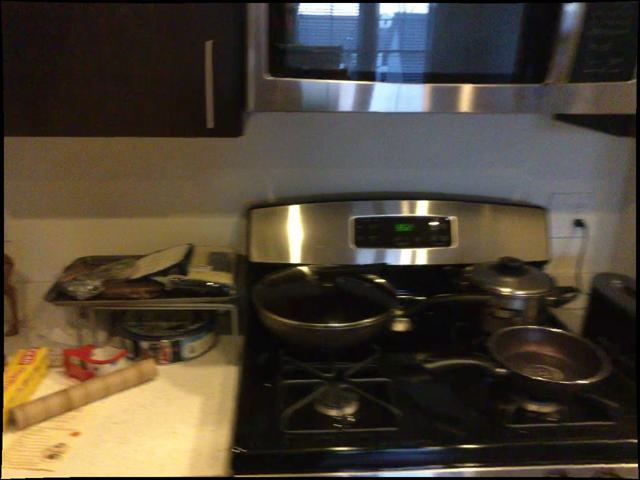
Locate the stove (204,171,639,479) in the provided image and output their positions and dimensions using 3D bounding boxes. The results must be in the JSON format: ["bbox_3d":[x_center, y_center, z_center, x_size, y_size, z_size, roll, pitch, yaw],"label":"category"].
[{"bbox_3d":[0.200,0.521,1.300,0.858,1.142,0.740,3,20,-7],"label":"stove"}]
